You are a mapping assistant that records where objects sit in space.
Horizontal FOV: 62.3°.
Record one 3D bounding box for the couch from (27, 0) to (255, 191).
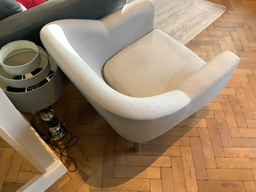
[{"bbox_3d":[0.090,-0.100,1.270,0.830,0.700,0.750,-37,64,-24],"label":"couch"}]
